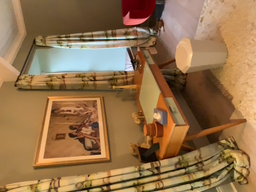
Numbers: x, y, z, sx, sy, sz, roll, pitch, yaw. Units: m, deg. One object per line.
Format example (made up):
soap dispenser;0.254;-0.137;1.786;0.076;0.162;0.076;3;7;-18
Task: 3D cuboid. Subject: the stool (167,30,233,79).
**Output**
stool;0.720;-0.440;2.230;0.380;0.460;0.360;-106;17;-49
